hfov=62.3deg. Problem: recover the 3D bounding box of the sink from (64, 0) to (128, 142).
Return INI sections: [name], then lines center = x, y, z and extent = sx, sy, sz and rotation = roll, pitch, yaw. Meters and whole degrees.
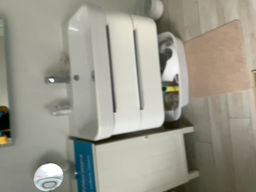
[sink]
center = -0.240, -0.130, 1.410
extent = 0.490, 0.170, 0.790
rotation = -7, 87, 56
